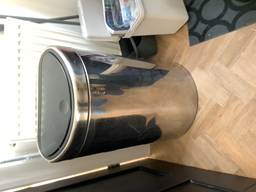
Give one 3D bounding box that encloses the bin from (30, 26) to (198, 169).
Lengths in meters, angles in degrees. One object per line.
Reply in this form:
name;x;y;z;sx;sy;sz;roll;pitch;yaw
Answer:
bin;-0.030;0.010;0.960;0.310;0.690;0.420;-5;86;52
